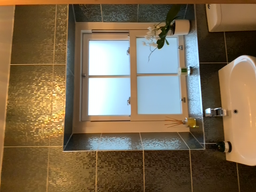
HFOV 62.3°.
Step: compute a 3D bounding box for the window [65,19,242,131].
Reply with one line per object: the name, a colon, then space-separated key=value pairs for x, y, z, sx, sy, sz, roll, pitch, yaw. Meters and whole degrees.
window: x=0.210 y=-0.200 z=1.940 sx=0.170 sy=1.480 sz=1.000 roll=101 pitch=168 yaw=-79
